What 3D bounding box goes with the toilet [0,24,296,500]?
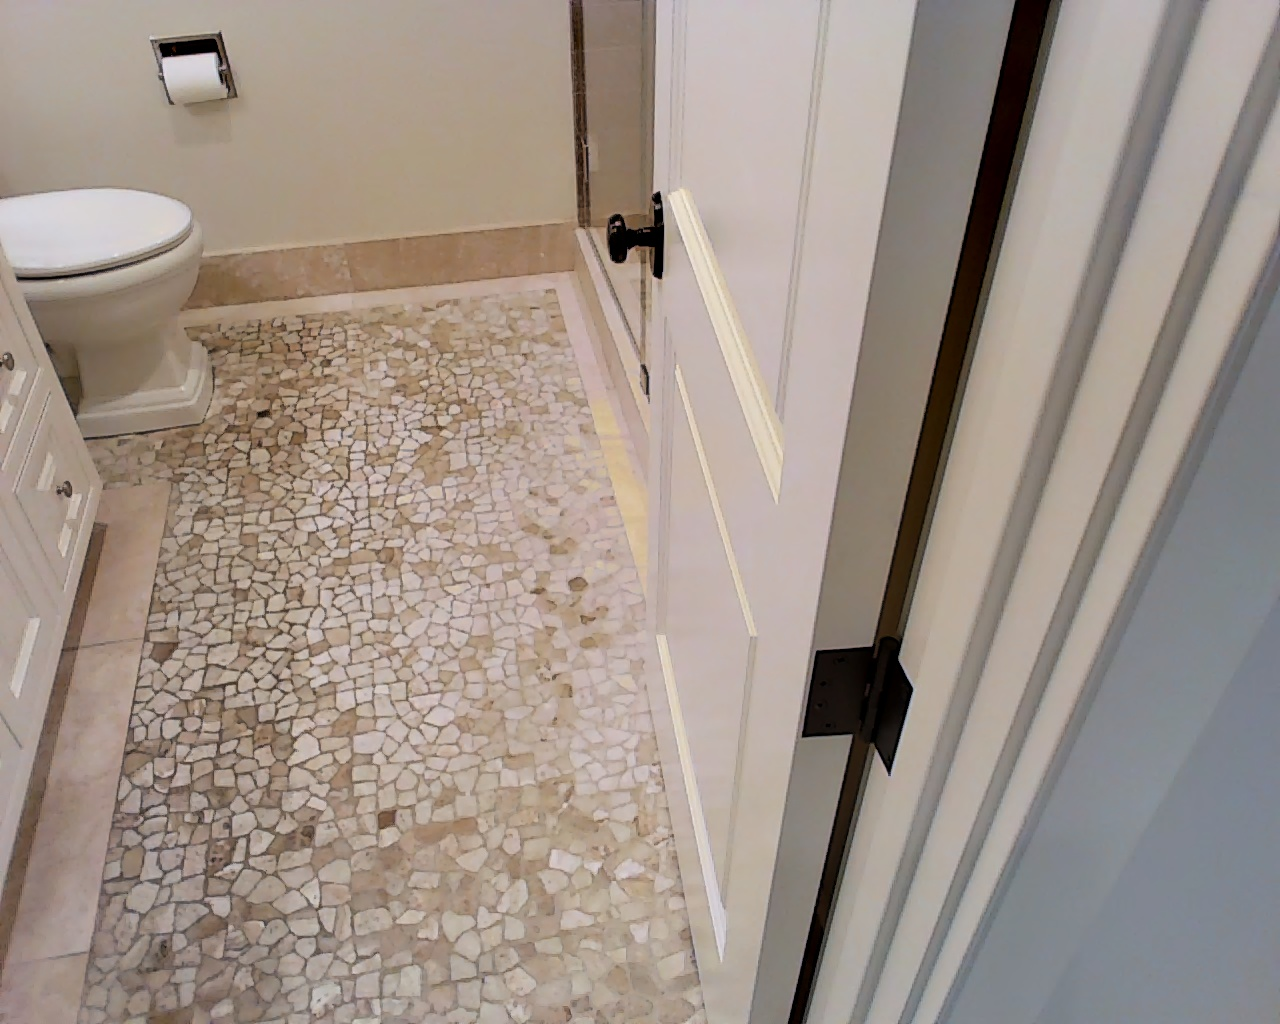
[{"bbox_3d":[-1.260,-0.520,2.300,0.830,0.790,0.530,-8,42,-8],"label":"toilet"}]
